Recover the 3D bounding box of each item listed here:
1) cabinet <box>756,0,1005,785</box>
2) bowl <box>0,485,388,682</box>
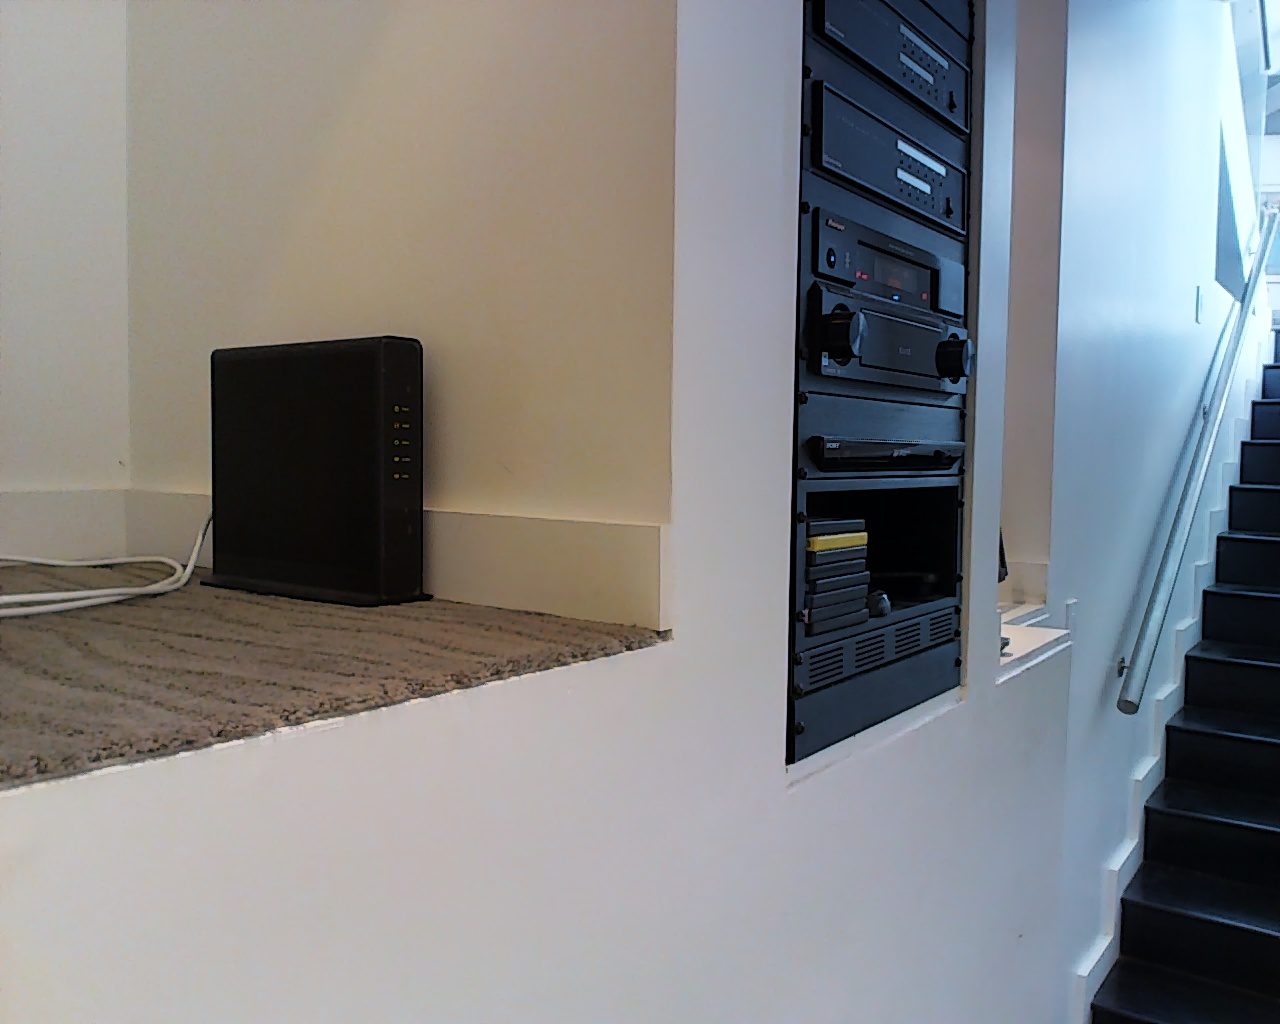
[{"bbox_3d":[0.310,-0.530,1.250,0.050,1.590,0.510,4,4,37],"label":"cabinet"},{"bbox_3d":[-0.670,0.050,0.970,0.540,0.120,0.670,4,4,36],"label":"bowl"}]
